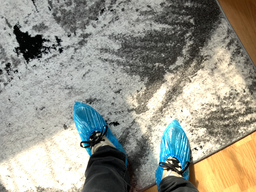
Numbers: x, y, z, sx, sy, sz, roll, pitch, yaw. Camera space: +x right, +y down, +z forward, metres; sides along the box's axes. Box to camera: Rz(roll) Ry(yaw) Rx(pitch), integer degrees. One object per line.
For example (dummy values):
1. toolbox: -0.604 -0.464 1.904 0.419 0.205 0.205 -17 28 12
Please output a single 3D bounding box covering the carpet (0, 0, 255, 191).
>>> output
1. carpet: -0.360 -0.310 0.870 1.260 0.060 1.640 -29 90 3
